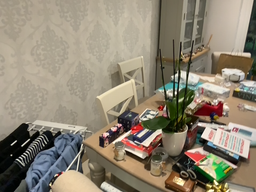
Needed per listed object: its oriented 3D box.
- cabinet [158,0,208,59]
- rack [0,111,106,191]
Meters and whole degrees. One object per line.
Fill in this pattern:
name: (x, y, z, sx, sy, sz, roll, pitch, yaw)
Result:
cabinet: (0.810, -1.160, 2.990, 0.320, 1.050, 0.930, 16, 29, 32)
rack: (-0.580, 0.670, 1.240, 0.540, 0.730, 0.990, 7, 25, 15)
